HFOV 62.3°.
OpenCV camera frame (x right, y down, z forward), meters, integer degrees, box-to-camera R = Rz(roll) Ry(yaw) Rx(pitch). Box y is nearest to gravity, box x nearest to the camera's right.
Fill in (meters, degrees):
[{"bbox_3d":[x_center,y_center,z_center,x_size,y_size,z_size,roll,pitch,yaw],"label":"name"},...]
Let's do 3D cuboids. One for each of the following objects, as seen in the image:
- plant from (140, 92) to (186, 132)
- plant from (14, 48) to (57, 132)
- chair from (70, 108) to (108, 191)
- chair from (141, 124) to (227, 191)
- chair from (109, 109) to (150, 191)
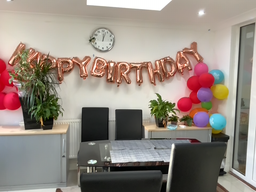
[{"bbox_3d":[0.480,0.200,3.030,0.510,0.490,0.430,-1,6,-13],"label":"plant"},{"bbox_3d":[-1.220,-0.090,2.870,0.420,1.030,0.470,0,6,-11],"label":"plant"},{"bbox_3d":[-0.540,0.700,3.000,0.470,0.960,0.650,0,6,-10],"label":"chair"},{"bbox_3d":[0.420,0.800,1.810,0.470,1.000,0.570,-1,6,-14],"label":"chair"},{"bbox_3d":[-0.010,0.710,2.890,0.440,0.960,0.610,0,6,-10],"label":"chair"}]
